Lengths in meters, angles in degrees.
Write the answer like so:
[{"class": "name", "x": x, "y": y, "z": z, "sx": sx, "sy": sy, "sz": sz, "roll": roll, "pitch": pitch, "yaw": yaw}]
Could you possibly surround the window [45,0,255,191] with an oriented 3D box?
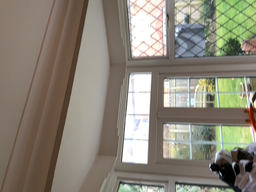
[{"class": "window", "x": 0.720, "y": -0.100, "z": 1.880, "sx": 1.190, "sy": 2.110, "sz": 2.580, "roll": 61, "pitch": -149, "yaw": -67}]
